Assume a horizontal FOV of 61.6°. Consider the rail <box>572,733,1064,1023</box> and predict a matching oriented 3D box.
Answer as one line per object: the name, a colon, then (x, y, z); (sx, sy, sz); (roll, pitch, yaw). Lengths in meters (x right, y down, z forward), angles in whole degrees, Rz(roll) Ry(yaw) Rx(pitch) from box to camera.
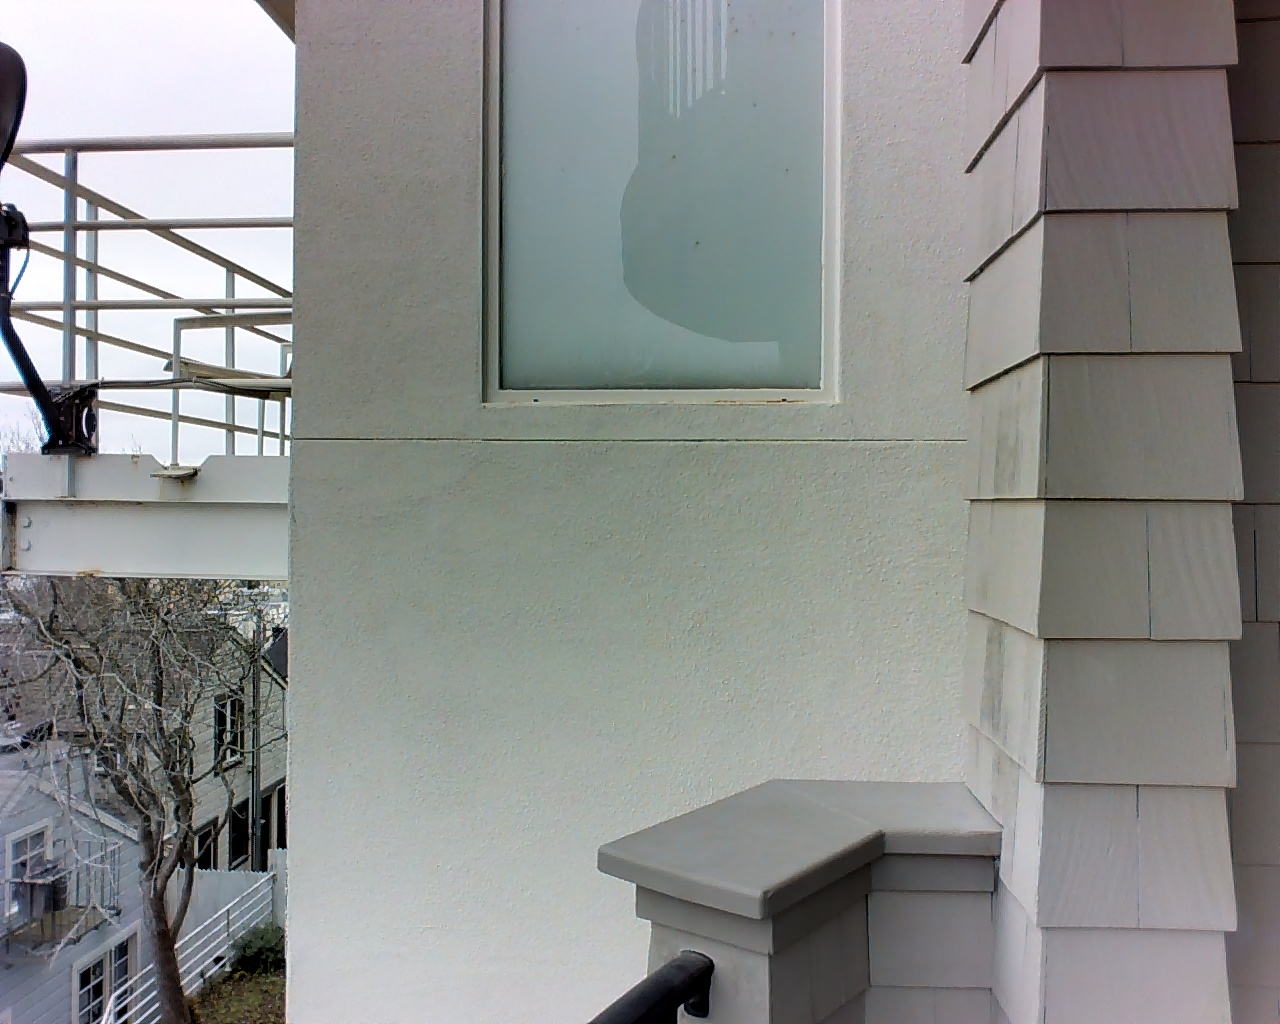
rail: (0.290, 0.970, 1.680); (0.660, 1.090, 0.440); (0, 0, -41)
